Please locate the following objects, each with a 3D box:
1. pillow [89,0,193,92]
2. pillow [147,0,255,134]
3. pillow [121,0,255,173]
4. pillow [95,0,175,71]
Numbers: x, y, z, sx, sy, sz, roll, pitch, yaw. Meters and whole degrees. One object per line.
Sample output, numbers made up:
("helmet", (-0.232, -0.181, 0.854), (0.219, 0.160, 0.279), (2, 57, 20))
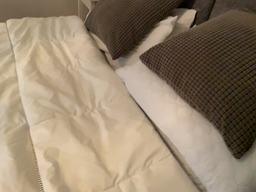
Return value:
("pillow", (0.030, -0.400, 1.160), (0.260, 0.290, 0.670), (-30, 61, -4))
("pillow", (0.300, -0.110, 0.670), (0.160, 0.330, 0.400), (-44, 70, 18))
("pillow", (0.250, -0.040, 0.720), (0.220, 0.380, 0.520), (-35, 64, 1))
("pillow", (0.010, -0.400, 1.070), (0.170, 0.360, 0.450), (-38, 67, 7))
